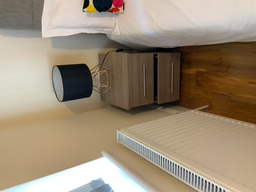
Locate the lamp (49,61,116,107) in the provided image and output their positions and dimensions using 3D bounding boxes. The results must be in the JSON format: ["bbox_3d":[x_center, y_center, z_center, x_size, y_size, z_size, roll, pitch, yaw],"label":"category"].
[{"bbox_3d":[-0.330,-0.110,1.560,0.270,0.400,0.260,17,112,53],"label":"lamp"}]
